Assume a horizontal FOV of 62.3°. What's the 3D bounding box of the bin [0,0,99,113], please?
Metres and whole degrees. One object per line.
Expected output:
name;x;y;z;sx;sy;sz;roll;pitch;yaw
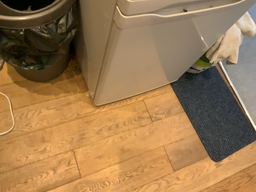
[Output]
bin;-0.420;-0.300;0.850;0.410;0.760;0.430;-17;74;-21
